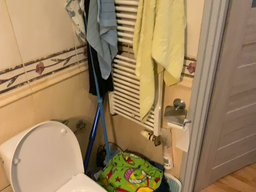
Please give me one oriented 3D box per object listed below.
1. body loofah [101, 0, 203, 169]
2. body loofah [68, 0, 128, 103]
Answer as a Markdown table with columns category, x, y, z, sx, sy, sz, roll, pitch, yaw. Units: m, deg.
| category | x | y | z | sx | sy | sz | roll | pitch | yaw |
| --- | --- | --- | --- | --- | --- | --- | --- | --- | --- |
| body loofah | 0.100 | -0.250 | 1.010 | 0.390 | 1.280 | 0.200 | 20 | 36 | 31 |
| body loofah | -0.160 | -0.450 | 1.120 | 0.240 | 0.970 | 0.180 | 19 | 36 | 31 |
